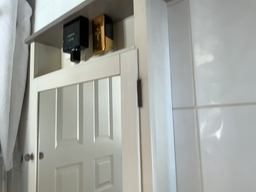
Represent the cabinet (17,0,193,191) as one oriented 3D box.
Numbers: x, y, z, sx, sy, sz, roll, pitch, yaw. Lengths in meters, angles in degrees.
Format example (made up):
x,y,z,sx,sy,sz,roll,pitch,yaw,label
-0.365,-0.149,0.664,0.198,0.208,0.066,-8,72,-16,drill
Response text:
x,y,z,sx,sy,sz,roll,pitch,yaw,label
-0.120,0.120,0.590,0.560,0.720,0.130,-7,172,40,cabinet
